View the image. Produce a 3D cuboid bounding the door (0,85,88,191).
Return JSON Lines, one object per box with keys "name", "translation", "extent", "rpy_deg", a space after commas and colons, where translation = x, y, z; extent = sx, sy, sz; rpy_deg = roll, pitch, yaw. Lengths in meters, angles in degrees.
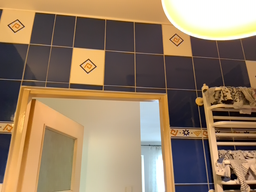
{"name": "door", "translation": [-0.540, 1.090, 1.390], "extent": [0.100, 2.070, 1.060], "rpy_deg": [-3, -20, 7]}
